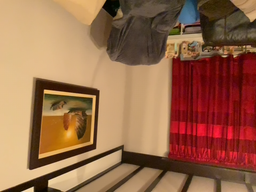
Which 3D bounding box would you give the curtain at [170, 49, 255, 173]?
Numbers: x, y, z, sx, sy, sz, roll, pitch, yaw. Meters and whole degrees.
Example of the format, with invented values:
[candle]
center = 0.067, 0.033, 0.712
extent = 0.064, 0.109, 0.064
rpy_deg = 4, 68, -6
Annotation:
[curtain]
center = 1.780, 0.200, 3.120
extent = 2.220, 1.760, 0.150
rpy_deg = 2, 178, 24
